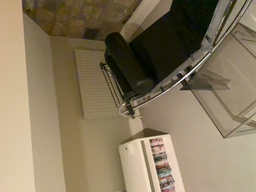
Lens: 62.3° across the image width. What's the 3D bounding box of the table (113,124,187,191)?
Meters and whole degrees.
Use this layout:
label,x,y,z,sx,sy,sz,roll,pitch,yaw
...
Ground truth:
label,x,y,z,sx,sy,sz,roll,pitch,yaw
table,0.250,0.960,2.010,0.480,0.390,1.260,-37,61,53
